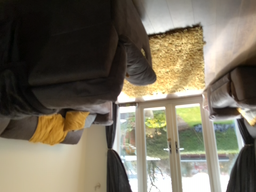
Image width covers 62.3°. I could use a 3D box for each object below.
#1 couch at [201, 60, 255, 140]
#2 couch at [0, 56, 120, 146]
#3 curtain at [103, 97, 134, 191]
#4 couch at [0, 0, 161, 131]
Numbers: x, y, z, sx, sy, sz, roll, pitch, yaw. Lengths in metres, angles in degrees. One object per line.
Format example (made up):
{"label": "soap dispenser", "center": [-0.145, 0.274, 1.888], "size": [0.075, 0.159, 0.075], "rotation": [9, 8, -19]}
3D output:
{"label": "couch", "center": [1.870, 0.140, 3.270], "size": [0.970, 0.960, 1.140], "rotation": [0, 164, -4]}
{"label": "couch", "center": [-0.970, 0.260, 3.430], "size": [1.080, 0.970, 1.740], "rotation": [-7, 163, 19]}
{"label": "curtain", "center": [-0.200, 1.170, 4.460], "size": [0.560, 2.270, 0.290], "rotation": [-7, 163, 17]}
{"label": "couch", "center": [-0.390, -0.290, 1.610], "size": [1.010, 0.940, 1.090], "rotation": [-7, 163, 19]}
